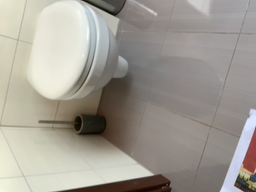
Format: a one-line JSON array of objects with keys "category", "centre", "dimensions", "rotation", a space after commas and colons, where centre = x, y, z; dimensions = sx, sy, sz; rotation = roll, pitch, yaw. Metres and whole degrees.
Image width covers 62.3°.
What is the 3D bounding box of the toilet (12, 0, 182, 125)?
[{"category": "toilet", "centre": [-0.160, -0.150, 0.910], "dimensions": [0.530, 0.440, 0.360], "rotation": [22, 99, 47]}]
